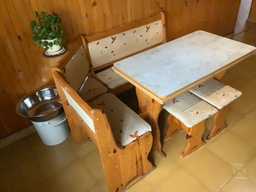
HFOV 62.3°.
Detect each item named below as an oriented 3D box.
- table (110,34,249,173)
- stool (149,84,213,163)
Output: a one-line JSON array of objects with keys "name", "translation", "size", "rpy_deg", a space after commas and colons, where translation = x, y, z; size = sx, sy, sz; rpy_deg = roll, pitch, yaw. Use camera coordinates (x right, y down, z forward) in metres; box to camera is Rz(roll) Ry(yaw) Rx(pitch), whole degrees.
[{"name": "table", "translation": [0.440, 0.010, 1.930], "size": [0.950, 0.770, 0.590], "rpy_deg": [-25, 41, -26]}, {"name": "stool", "translation": [0.440, 0.230, 1.890], "size": [0.310, 0.470, 0.420], "rpy_deg": [-25, 41, -26]}]
